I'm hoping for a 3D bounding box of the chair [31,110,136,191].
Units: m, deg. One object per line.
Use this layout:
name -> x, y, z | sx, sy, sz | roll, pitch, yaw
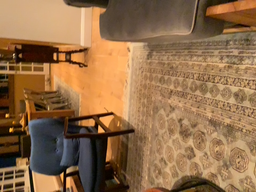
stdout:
chair -> -0.490, 0.560, 2.120 | 0.770, 0.820, 0.630 | 22, 111, 60
